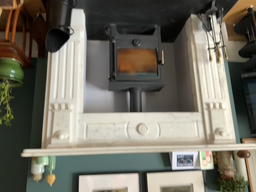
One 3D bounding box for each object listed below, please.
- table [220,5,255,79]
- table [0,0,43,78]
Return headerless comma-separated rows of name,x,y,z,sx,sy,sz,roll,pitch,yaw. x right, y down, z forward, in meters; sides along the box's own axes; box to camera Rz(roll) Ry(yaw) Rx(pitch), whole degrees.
table,1.630,-0.520,2.260,1.030,0.540,0.510,1,165,-11
table,-1.410,-0.530,1.950,0.990,0.510,0.690,0,165,-7
